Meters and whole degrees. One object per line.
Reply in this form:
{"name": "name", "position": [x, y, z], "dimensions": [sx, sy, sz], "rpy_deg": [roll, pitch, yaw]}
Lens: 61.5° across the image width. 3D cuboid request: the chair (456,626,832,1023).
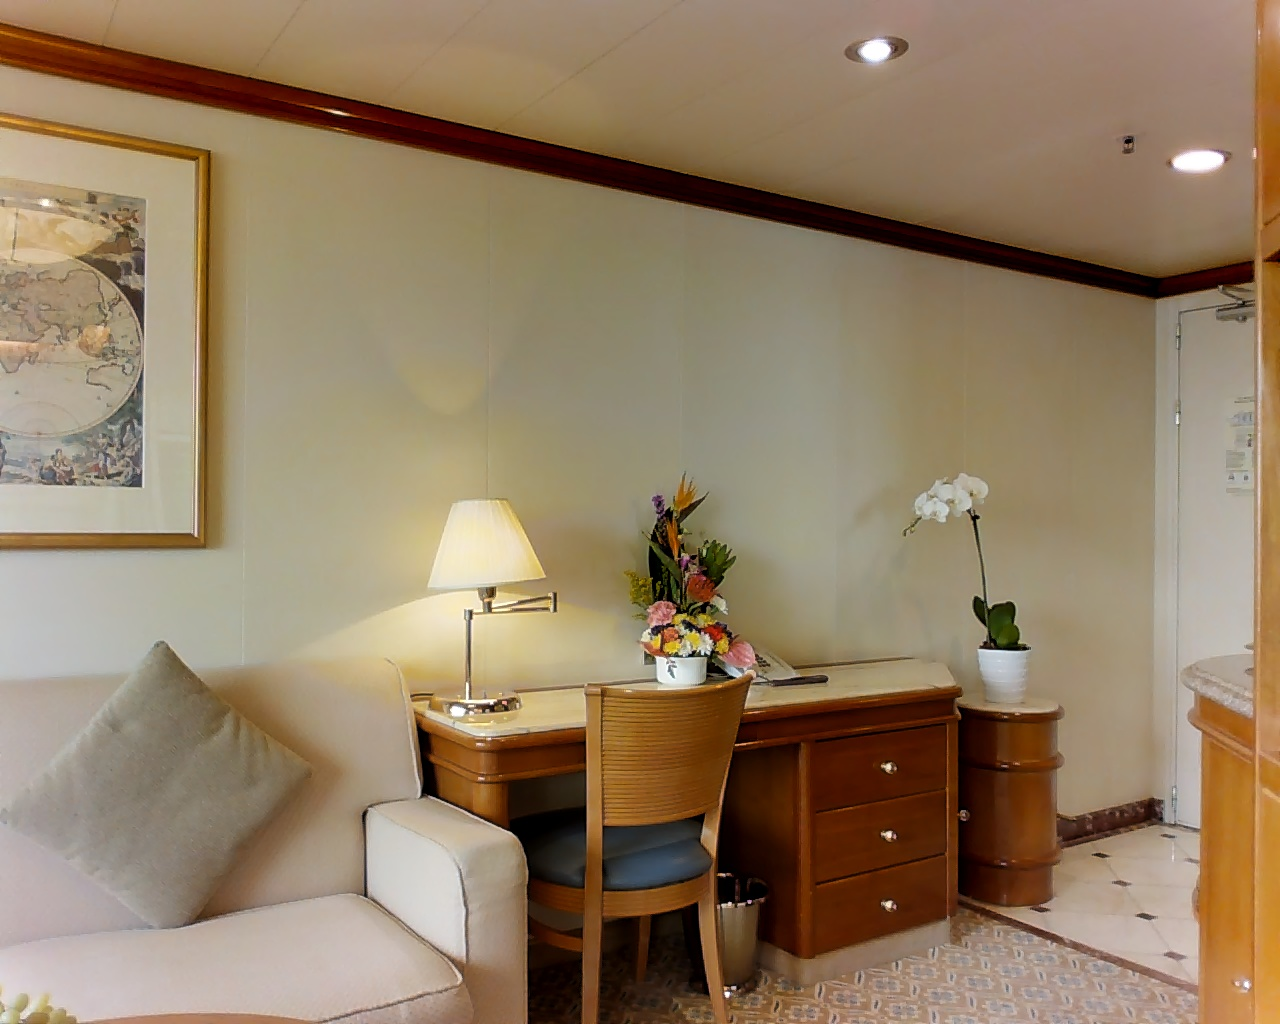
{"name": "chair", "position": [-0.010, 0.750, 2.540], "dimensions": [0.620, 0.870, 0.660], "rpy_deg": [1, 0, -33]}
